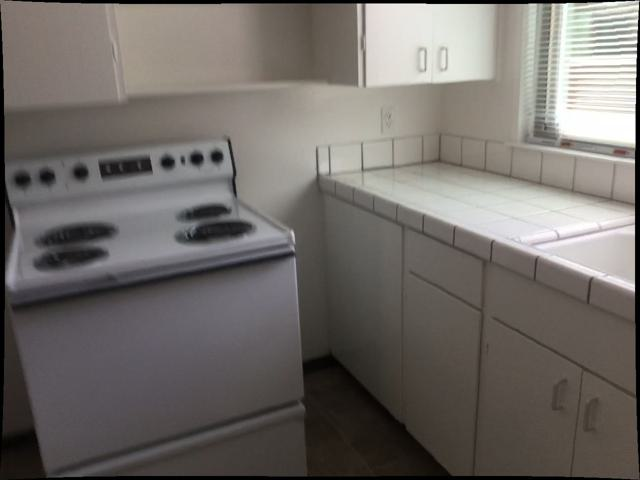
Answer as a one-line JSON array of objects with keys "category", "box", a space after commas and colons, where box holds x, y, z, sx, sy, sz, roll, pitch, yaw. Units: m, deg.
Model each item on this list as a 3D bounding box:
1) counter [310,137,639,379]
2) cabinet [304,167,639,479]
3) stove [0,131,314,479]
[{"category": "counter", "box": [0.699, -0.020, 1.670, 0.639, 0.170, 2.120, -12, 22, -22]}, {"category": "cabinet", "box": [0.459, 0.441, 1.710, 0.130, 0.921, 2.090, -12, 22, -22]}, {"category": "stove", "box": [-0.569, 0.290, 1.930, 0.799, 1.112, 0.760, -12, 22, -22]}]
